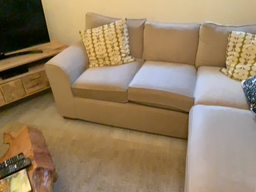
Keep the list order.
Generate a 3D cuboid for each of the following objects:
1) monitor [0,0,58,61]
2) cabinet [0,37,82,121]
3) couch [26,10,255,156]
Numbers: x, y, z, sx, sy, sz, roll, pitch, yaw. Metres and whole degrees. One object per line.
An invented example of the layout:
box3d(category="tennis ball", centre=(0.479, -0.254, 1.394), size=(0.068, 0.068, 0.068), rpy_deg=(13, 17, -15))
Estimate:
box3d(category="monitor", centre=(-1.170, -0.630, 1.920), size=(0.990, 0.600, 0.040), rpy_deg=(-26, 40, -32))
box3d(category="cabinet", centre=(-1.150, -0.190, 2.230), size=(1.180, 0.490, 0.480), rpy_deg=(-28, 42, -35))
box3d(category="couch", centre=(0.400, -0.240, 1.960), size=(2.100, 0.800, 1.020), rpy_deg=(7, 34, 13))
